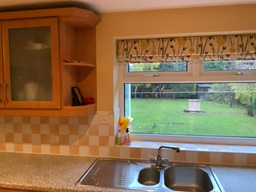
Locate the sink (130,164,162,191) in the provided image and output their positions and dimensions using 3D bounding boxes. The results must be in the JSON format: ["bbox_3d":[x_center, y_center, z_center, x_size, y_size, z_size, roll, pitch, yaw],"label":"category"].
[{"bbox_3d":[0.150,0.680,1.610,0.210,0.190,0.350,0,4,10],"label":"sink"}]

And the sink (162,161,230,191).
[{"bbox_3d":[0.470,0.700,1.590,0.420,0.230,0.490,0,4,10],"label":"sink"}]

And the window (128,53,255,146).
[{"bbox_3d":[0.710,0.030,2.070,1.440,0.860,0.050,0,4,11],"label":"window"}]
